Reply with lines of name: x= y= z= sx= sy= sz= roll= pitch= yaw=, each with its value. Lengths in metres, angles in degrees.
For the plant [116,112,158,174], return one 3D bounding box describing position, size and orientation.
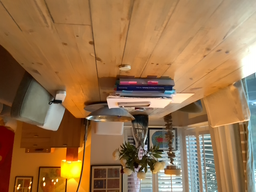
plant: x=0.080 y=0.470 z=2.190 sx=0.410 sy=0.600 sz=0.170 roll=0 pitch=168 yaw=-2
